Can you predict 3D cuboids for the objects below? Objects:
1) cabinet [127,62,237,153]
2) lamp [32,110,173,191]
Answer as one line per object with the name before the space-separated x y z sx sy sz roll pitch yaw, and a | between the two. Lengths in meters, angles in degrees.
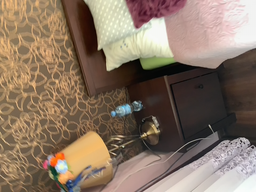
cabinet | 0.390 0.060 1.490 0.360 0.620 0.430 -12 94 54
lamp | -0.110 0.280 1.140 0.290 0.660 0.220 -11 95 54
